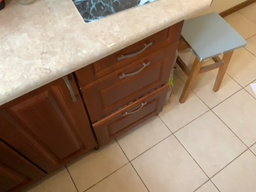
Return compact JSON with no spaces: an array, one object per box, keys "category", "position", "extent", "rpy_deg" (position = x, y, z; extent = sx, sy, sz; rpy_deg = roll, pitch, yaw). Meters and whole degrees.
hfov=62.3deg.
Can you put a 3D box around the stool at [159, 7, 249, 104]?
[{"category":"stool","position":[0.450,-0.250,1.400],"extent":[0.310,0.460,0.340],"rpy_deg":[-19,60,-12]}]
